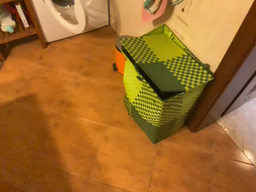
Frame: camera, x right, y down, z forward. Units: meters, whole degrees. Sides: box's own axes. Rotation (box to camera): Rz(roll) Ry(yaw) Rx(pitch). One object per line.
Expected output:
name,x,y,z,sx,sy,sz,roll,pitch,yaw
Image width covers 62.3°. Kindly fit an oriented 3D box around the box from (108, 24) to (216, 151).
box,0.150,-0.040,1.310,0.350,0.500,0.500,-22,60,-16
